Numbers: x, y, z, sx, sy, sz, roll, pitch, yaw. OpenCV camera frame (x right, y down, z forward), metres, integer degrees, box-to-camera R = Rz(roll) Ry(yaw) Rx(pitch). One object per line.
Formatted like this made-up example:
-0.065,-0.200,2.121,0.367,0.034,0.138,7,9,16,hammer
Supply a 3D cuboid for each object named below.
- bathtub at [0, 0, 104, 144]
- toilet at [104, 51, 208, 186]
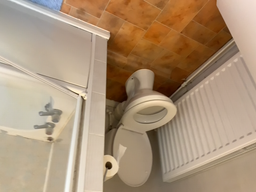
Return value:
-0.960,-0.230,1.210,1.480,0.570,0.670,15,140,-24,bathtub
0.140,0.210,1.710,0.400,0.800,0.690,16,140,-25,toilet
